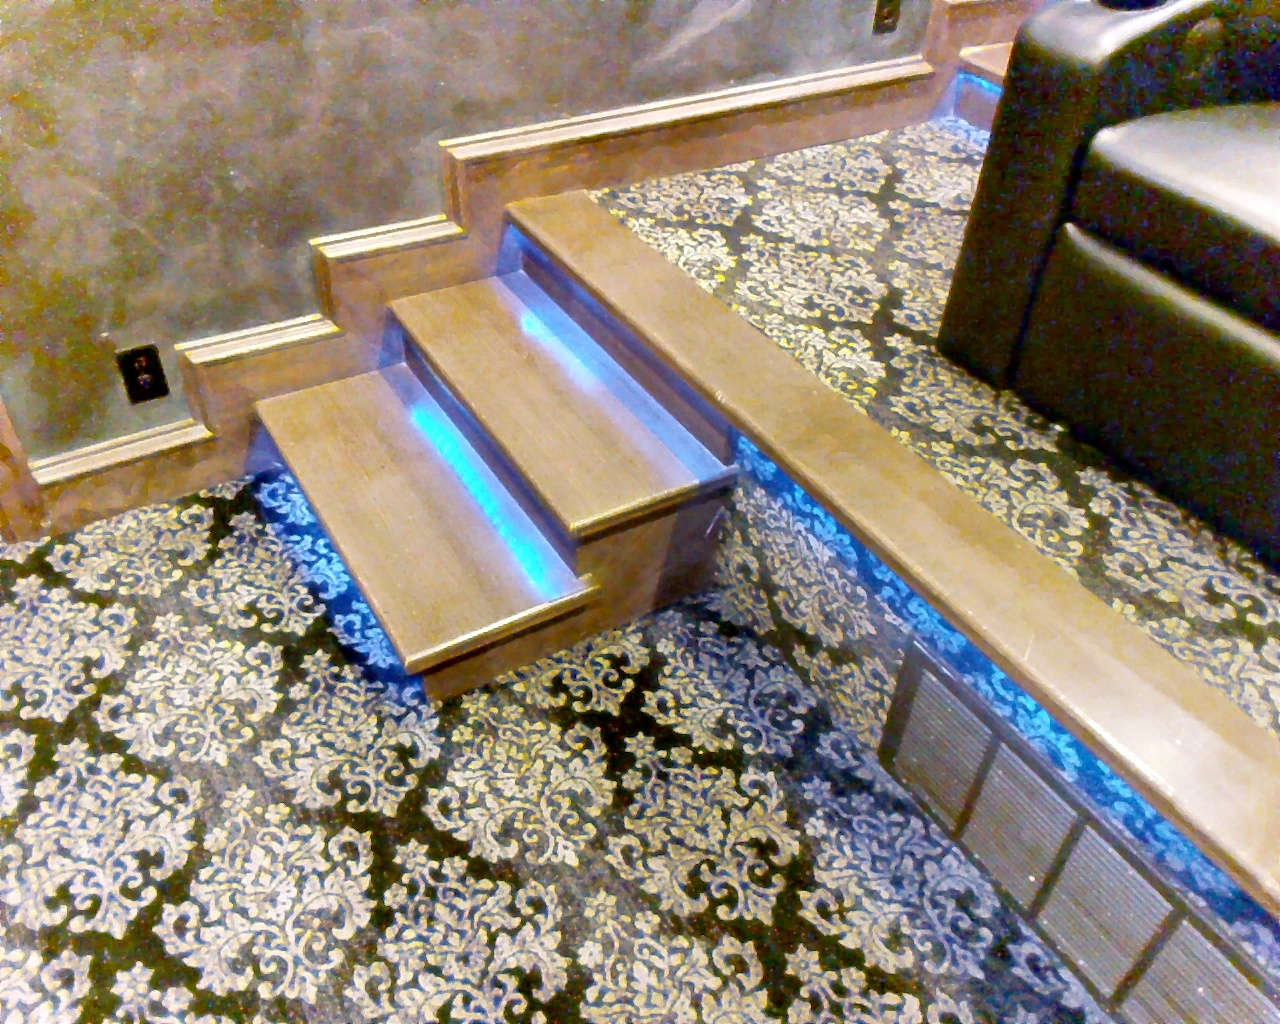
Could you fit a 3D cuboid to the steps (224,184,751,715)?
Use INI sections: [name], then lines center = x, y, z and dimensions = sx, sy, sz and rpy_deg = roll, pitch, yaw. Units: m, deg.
[steps]
center = -0.300, -0.170, 2.000
dimensions = 0.620, 0.480, 0.790
rpy_deg = -21, 46, -24
